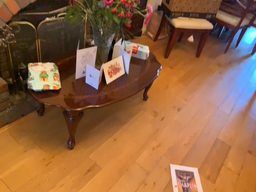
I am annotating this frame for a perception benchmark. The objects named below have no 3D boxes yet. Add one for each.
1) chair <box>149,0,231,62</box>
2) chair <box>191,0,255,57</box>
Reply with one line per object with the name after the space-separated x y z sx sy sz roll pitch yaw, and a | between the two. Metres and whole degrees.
0.760 -1.020 2.800 0.600 0.910 0.610 -1 42 -18 | chair
1.490 -1.220 3.160 0.500 1.010 0.610 37 44 25 | chair
